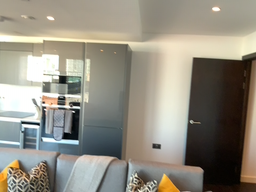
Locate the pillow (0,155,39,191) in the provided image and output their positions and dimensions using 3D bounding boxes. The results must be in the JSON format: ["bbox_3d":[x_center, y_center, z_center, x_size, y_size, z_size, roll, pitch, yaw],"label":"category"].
[{"bbox_3d":[-1.130,0.800,1.960,0.230,0.330,0.450,25,10,24],"label":"pillow"}]

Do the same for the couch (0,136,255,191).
[{"bbox_3d":[-0.380,0.990,1.850,2.550,0.870,1.010,4,4,4],"label":"couch"}]
